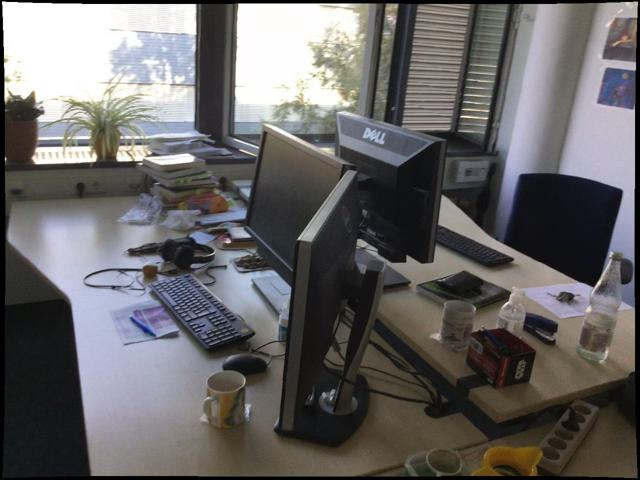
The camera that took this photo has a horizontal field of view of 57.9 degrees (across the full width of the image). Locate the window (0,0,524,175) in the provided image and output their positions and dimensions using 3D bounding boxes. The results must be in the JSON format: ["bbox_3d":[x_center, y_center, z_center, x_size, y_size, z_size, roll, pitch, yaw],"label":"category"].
[{"bbox_3d":[-0.240,-1.231,2.930,3.037,1.571,0.240,-8,25,-23],"label":"window"}]
